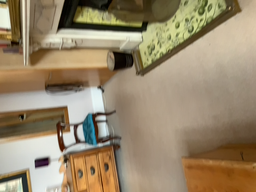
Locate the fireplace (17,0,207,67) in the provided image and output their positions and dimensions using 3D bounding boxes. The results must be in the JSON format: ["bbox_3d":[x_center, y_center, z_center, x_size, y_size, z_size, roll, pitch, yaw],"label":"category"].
[{"bbox_3d":[-0.200,-0.790,1.740,1.730,1.250,0.480,-28,71,61],"label":"fireplace"}]
